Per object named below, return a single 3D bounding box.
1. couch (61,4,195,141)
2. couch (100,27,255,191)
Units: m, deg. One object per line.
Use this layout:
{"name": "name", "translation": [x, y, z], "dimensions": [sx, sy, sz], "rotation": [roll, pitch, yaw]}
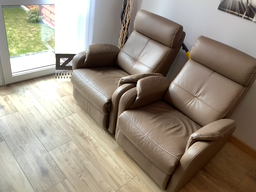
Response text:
{"name": "couch", "translation": [-0.050, -0.310, 2.150], "dimensions": [0.930, 0.960, 0.760], "rotation": [-22, 48, -40]}
{"name": "couch", "translation": [0.440, 0.090, 1.730], "dimensions": [0.950, 0.980, 0.750], "rotation": [-22, 48, -40]}
